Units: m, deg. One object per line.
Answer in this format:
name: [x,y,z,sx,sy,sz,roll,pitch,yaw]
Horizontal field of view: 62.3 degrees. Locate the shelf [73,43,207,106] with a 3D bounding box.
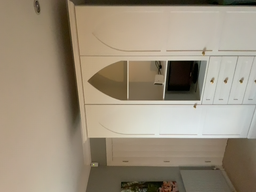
shelf: [0.130,-0.300,2.730,0.650,1.460,0.620,-91,1,-65]

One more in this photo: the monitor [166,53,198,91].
monitor: [0.680,-0.300,2.720,0.040,0.350,0.490,-91,1,-65]
